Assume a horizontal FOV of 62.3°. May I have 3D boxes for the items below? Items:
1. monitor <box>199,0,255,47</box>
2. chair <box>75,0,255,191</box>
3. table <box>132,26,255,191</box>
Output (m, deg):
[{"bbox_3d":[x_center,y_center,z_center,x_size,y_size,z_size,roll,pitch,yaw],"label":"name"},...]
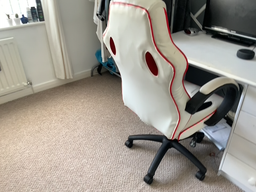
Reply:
[{"bbox_3d":[0.760,-0.560,1.480,0.040,0.340,0.520,-23,39,-32],"label":"monitor"},{"bbox_3d":[0.210,-0.040,1.240,0.680,1.190,0.630,-24,39,-33],"label":"chair"},{"bbox_3d":[0.660,0.030,1.550,0.660,0.730,1.160,-23,39,-32],"label":"table"}]
